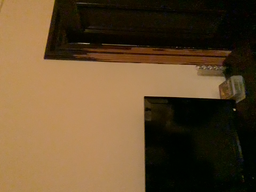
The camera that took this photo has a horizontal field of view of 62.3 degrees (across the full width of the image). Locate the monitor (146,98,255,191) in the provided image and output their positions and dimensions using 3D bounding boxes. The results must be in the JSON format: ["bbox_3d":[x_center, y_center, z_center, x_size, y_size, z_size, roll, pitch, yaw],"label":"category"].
[{"bbox_3d":[0.430,0.480,1.260,0.050,0.640,0.950,98,174,-69],"label":"monitor"}]
